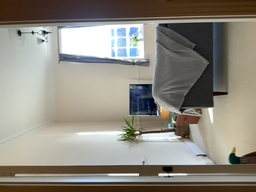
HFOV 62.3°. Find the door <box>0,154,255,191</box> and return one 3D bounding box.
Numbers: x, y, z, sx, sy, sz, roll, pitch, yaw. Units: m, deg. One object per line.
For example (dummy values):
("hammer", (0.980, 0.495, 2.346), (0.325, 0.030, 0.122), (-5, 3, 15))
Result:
("door", (0.100, 0.520, 1.450), (0.960, 2.040, 0.180), (86, -176, -72))

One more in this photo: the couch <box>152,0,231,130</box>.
("couch", (0.740, -0.810, 2.780), (0.930, 0.770, 2.330), (-74, -17, -86))
